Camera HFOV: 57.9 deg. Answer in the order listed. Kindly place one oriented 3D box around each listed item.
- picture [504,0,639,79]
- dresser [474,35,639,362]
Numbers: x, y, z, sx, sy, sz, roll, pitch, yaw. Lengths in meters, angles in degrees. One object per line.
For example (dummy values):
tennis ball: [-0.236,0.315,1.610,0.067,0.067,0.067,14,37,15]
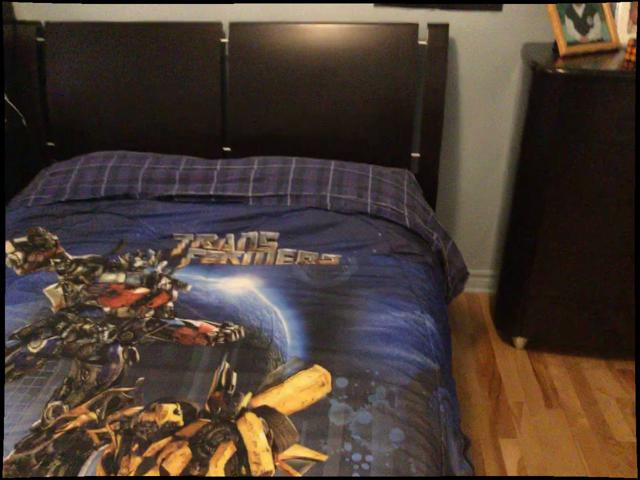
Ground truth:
picture: [0.789,-0.691,1.760,0.330,0.310,0.230,-14,31,-20]
dresser: [1.049,-0.120,1.890,0.909,0.981,0.420,1,29,4]
